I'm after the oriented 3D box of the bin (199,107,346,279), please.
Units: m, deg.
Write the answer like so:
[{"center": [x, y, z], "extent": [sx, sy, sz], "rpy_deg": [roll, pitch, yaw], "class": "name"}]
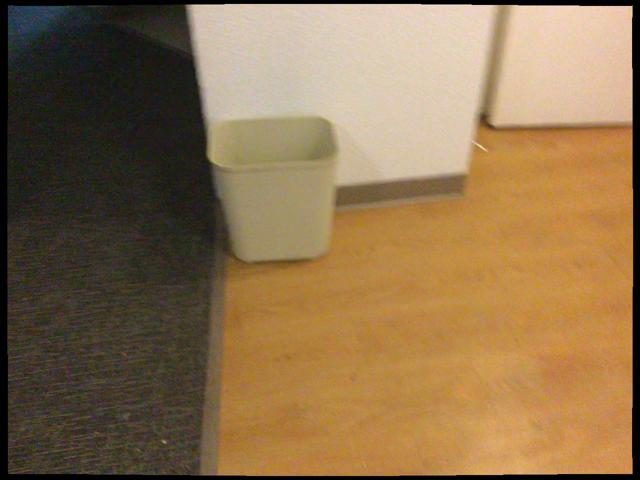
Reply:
[{"center": [-0.150, -0.150, 1.840], "extent": [0.399, 0.410, 0.290], "rpy_deg": [-7, 41, -8], "class": "bin"}]
